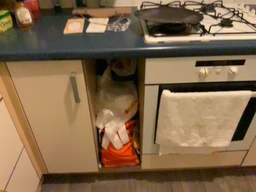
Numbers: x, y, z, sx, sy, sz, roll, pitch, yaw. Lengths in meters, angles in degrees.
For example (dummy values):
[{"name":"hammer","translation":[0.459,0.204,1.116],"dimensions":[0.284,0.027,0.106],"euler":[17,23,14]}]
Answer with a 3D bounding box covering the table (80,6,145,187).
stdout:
[{"name":"table","translation":[-0.070,0.020,1.300],"dimensions":[0.240,0.940,0.590],"euler":[-2,37,-3]}]
